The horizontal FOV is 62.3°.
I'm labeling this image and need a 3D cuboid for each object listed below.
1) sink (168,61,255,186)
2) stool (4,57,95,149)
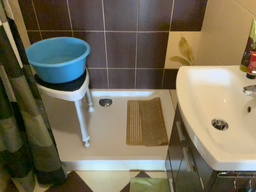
[{"bbox_3d":[0.390,0.060,0.810,0.380,0.130,0.520,1,40,0],"label":"sink"},{"bbox_3d":[-0.500,0.050,1.540,0.430,0.510,0.430,0,40,-2],"label":"stool"}]
